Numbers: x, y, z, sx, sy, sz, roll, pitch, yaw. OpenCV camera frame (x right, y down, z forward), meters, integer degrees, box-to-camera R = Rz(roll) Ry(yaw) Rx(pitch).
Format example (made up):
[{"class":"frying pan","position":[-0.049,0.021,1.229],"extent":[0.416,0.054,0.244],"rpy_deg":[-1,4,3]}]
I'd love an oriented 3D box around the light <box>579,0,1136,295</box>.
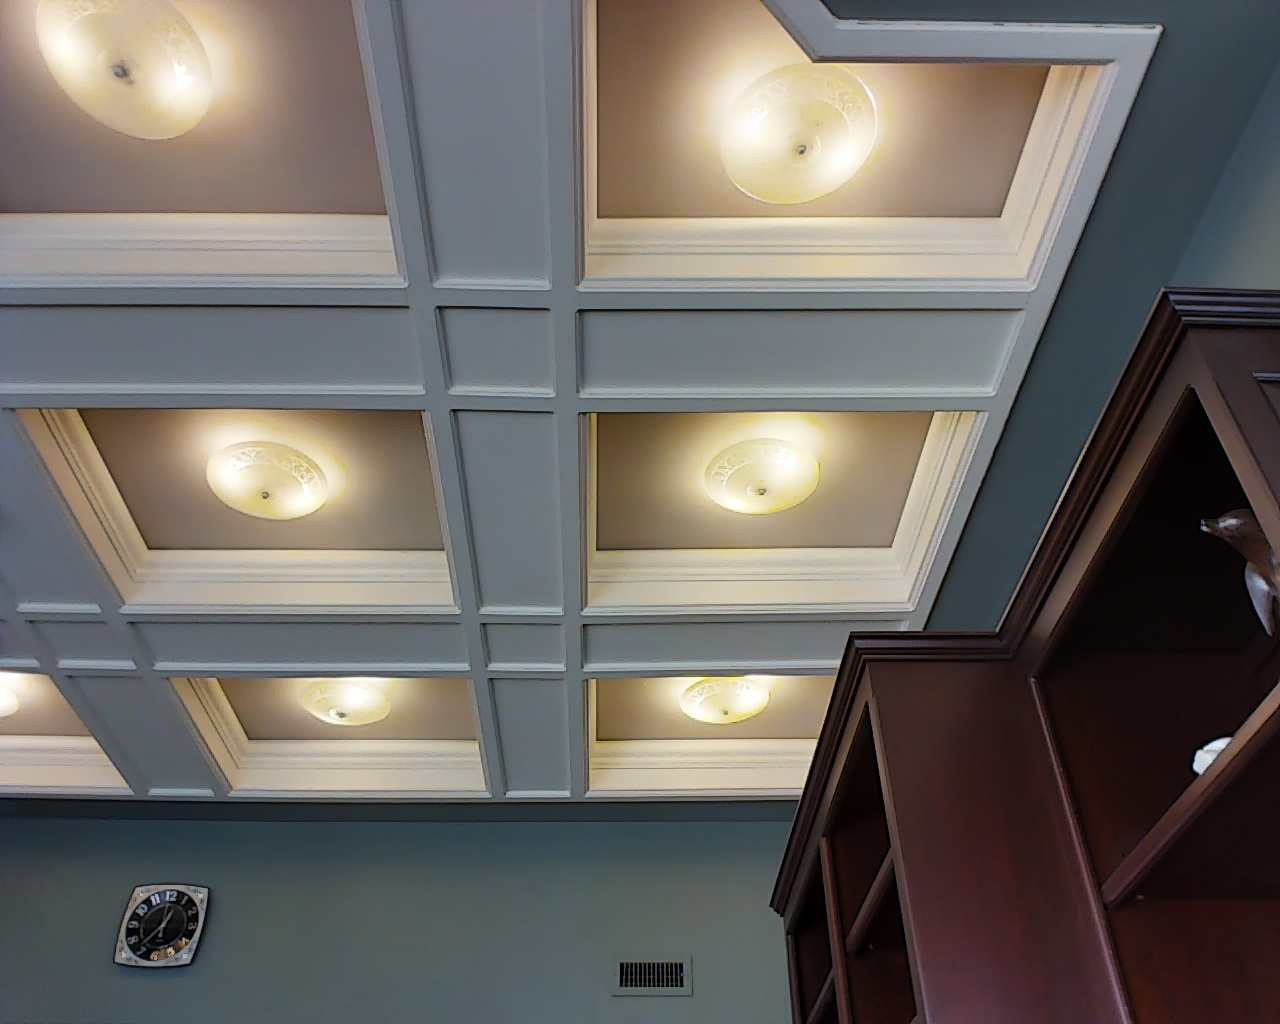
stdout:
[{"class":"light","position":[0.370,-0.860,2.060],"extent":[0.960,0.270,0.840],"rpy_deg":[1,-44,-1]}]

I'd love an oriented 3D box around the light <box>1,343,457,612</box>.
[{"class":"light","position":[-1.060,-0.070,2.970],"extent":[0.990,0.260,0.780],"rpy_deg":[1,-42,-1]}]

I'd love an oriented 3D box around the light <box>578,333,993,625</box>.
[{"class":"light","position":[0.340,-0.060,2.990],"extent":[1.000,0.310,0.850],"rpy_deg":[1,-40,-1]}]

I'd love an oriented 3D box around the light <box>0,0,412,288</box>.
[{"class":"light","position":[-1.010,-0.850,2.070],"extent":[0.990,0.250,0.810],"rpy_deg":[1,-40,-1]}]
